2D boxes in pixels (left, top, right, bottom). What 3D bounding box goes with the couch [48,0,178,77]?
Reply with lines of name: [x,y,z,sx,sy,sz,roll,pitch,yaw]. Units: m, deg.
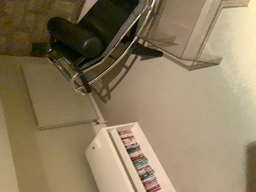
couch: [-0.030,-0.860,1.450,0.500,0.690,1.370,37,120,41]
